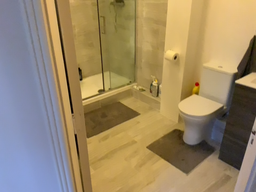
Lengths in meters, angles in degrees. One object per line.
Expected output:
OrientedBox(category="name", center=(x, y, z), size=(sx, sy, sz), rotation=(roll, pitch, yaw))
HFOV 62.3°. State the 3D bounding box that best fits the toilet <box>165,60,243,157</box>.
OrientedBox(category="toilet", center=(0.760, 0.100, 2.200), size=(0.600, 0.770, 0.380), rotation=(-19, 33, -34))
